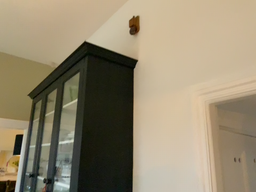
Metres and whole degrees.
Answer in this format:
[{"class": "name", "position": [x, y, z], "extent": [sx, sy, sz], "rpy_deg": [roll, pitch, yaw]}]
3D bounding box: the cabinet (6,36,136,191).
[{"class": "cabinet", "position": [-0.780, 1.020, 2.100], "extent": [0.440, 2.470, 2.110], "rpy_deg": [13, -20, -35]}]
